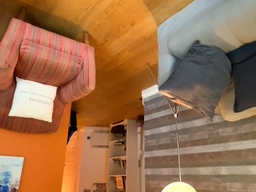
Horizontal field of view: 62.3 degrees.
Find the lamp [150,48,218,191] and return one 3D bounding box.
[{"bbox_3d":[0.570,0.350,2.290,0.470,1.650,0.380,15,154,-36],"label":"lamp"}]
